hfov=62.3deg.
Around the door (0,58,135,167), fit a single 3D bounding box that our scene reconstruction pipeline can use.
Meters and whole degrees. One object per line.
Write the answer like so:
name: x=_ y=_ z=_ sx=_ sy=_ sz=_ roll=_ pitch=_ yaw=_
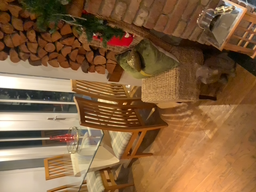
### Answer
door: x=-1.080 y=0.360 z=3.050 sx=1.770 sy=1.920 sz=0.170 roll=-64 pitch=37 yaw=32
